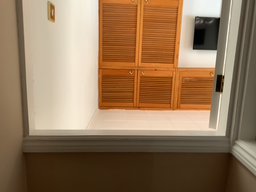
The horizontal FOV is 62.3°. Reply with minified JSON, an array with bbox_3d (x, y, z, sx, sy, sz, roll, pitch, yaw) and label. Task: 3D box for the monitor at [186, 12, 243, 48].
[{"bbox_3d":[1.400,-1.060,3.440,0.890,0.530,0.030,1,-167,-5],"label":"monitor"}]
